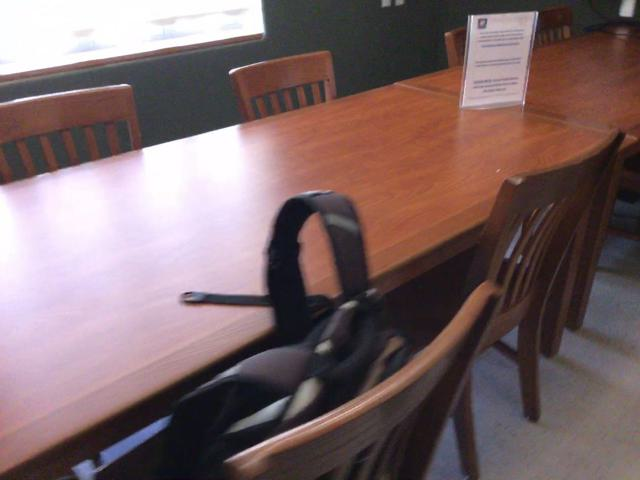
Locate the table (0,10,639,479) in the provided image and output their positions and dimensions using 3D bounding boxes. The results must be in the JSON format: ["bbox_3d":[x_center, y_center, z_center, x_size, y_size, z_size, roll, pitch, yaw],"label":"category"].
[{"bbox_3d":[0.570,-0.130,2.020,3.580,0.900,1.070,-22,34,-34],"label":"table"}]

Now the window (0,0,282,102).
[{"bbox_3d":[-0.910,-1.250,2.460,1.730,1.070,0.210,-25,36,-38],"label":"window"}]

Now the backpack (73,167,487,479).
[{"bbox_3d":[-0.030,0.230,0.820,0.330,0.520,0.380,20,34,34],"label":"backpack"}]
